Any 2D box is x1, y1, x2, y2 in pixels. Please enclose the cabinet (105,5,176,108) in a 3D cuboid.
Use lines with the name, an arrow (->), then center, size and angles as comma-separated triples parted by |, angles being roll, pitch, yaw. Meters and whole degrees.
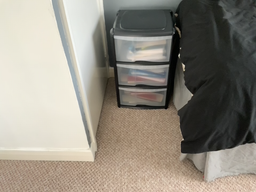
cabinet -> 0.090, -0.280, 1.550 | 0.400, 0.610, 0.420 | 1, 40, 4
